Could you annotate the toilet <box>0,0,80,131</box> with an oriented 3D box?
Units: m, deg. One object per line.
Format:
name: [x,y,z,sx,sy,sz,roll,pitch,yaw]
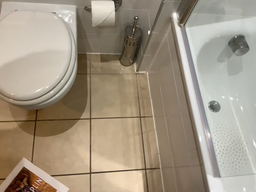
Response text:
toilet: [-0.450,-0.140,1.080,0.370,0.460,0.520,0,67,-9]
